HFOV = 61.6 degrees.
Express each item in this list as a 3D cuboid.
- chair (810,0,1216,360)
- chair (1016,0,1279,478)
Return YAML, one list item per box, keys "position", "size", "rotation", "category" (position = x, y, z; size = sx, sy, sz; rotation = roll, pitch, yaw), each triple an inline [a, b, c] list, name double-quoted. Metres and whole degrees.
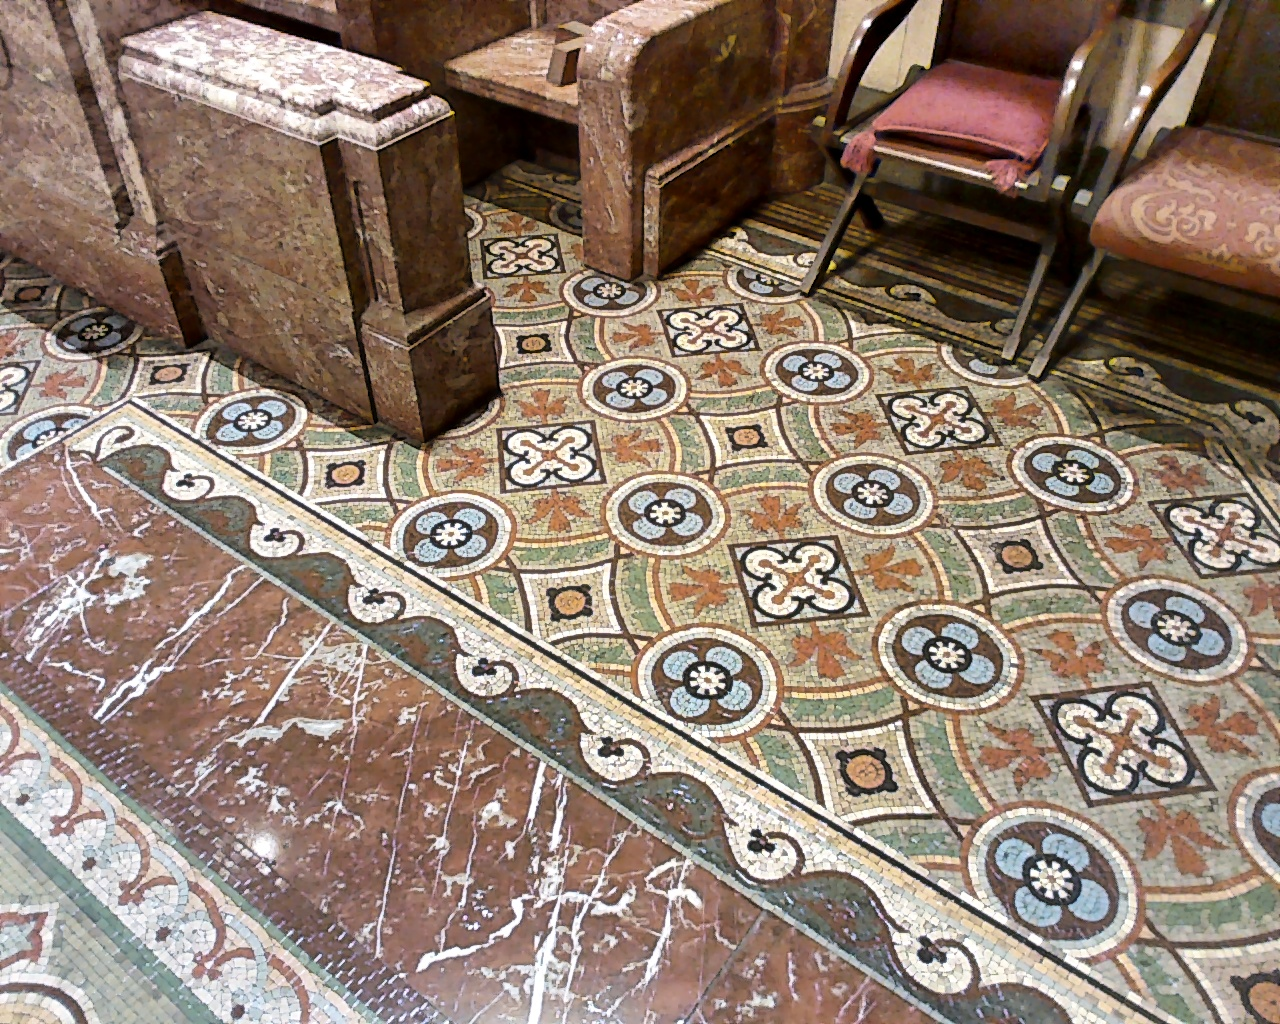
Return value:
- position: [0.960, -1.090, 2.730]
  size: [0.670, 1.030, 0.690]
  rotation: [26, 49, 24]
  category: "chair"
- position: [1.460, -0.780, 2.420]
  size: [0.690, 1.040, 0.750]
  rotation: [28, 50, 25]
  category: "chair"
